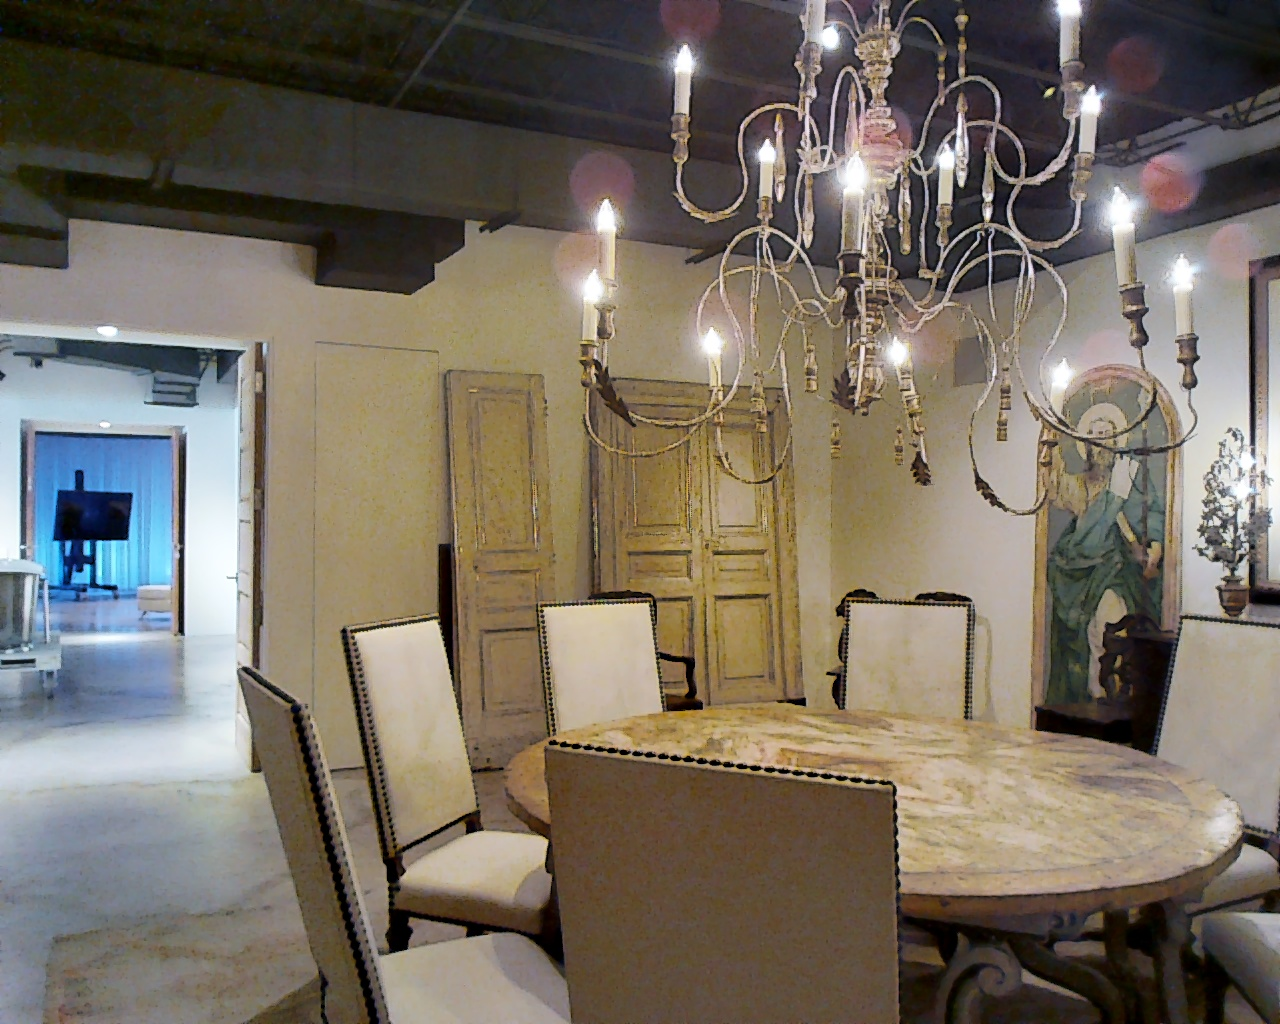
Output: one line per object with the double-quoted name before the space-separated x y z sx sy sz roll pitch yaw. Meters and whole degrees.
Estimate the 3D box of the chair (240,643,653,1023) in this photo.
"chair" -0.440 0.900 2.320 0.730 1.130 0.600 0 0 -27

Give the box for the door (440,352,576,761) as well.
"door" -0.780 0.250 6.420 0.580 2.370 0.140 -6 3 -25

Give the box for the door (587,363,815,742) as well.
"door" 0.460 0.220 7.390 1.560 2.450 0.130 -5 3 -27

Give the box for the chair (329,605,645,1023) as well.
"chair" -0.440 0.890 3.280 0.740 1.130 0.640 1 0 18

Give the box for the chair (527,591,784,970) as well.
"chair" 0.030 0.890 3.910 0.630 1.130 0.800 0 0 -26

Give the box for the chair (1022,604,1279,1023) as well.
"chair" 1.750 0.900 3.490 0.750 1.130 0.590 0 0 -26
